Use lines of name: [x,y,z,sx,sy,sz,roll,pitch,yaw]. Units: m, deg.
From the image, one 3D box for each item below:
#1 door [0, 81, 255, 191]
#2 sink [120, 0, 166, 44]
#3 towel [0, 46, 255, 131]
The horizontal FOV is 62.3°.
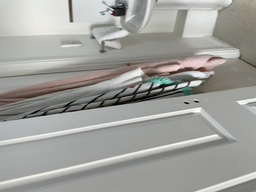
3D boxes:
door: [0.340,0.190,0.590,0.770,2.000,0.030,-124,33,-52]
sink: [0.110,-0.750,1.630,0.390,0.190,0.580,-123,32,-51]
towel: [0.000,-0.100,1.080,0.420,1.430,0.130,-125,33,-53]
